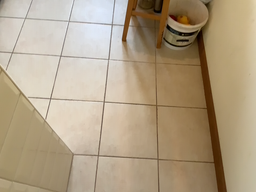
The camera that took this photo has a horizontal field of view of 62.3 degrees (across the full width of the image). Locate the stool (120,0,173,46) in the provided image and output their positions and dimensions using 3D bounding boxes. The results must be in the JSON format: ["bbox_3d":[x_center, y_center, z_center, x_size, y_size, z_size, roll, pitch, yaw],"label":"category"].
[{"bbox_3d":[0.120,-0.630,1.390,0.290,0.480,0.330,7,62,0],"label":"stool"}]
